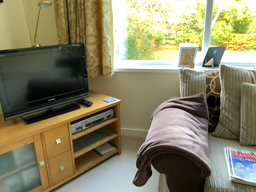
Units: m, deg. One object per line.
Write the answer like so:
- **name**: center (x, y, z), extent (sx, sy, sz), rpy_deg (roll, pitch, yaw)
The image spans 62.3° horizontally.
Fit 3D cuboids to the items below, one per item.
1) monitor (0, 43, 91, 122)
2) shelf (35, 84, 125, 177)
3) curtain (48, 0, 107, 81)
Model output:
- **monitor**: center (-0.590, -0.130, 1.580), extent (0.670, 0.470, 0.060), rpy_deg (-17, 25, -40)
- **shelf**: center (-0.430, 0.260, 1.980), extent (0.550, 0.540, 0.570), rpy_deg (17, 25, 41)
- **curtain**: center (-0.460, -0.950, 1.880), extent (0.430, 1.590, 0.240), rpy_deg (5, 20, 15)
